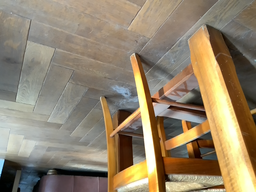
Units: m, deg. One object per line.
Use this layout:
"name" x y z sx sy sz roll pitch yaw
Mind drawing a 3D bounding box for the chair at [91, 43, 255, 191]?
"chair" 0.140 0.310 0.870 0.420 0.820 0.480 14 146 -27

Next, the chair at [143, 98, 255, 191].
"chair" 0.410 0.510 1.250 0.420 0.820 0.440 12 147 -24
